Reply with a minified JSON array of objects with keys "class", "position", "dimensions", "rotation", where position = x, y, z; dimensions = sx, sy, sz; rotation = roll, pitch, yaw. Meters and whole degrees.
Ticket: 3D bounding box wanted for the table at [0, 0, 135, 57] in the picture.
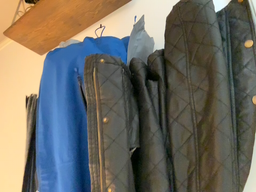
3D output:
[{"class":"table","position":[-0.360,-0.600,1.170],"dimensions":[0.770,0.460,0.270],"rotation":[-16,151,32]}]
